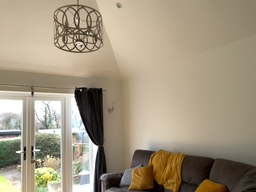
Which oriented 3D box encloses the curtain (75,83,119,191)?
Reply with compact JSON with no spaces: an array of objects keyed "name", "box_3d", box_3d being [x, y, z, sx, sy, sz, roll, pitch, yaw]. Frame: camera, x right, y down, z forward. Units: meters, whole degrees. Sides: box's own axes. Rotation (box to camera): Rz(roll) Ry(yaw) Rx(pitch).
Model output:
[{"name":"curtain","box_3d":[-0.620,0.970,4.290,0.770,2.390,0.280,2,-9,-37]}]
